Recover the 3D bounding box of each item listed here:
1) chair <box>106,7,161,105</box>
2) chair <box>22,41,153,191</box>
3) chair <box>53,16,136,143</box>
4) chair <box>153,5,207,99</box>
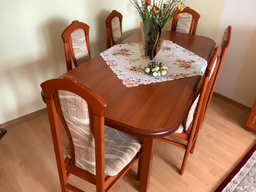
[{"bbox_3d":[0.060,-0.470,2.540,0.520,1.010,0.450,8,32,8],"label":"chair"},{"bbox_3d":[-0.190,0.260,1.330,0.440,1.030,0.490,17,34,22],"label":"chair"},{"bbox_3d":[-0.270,-0.150,1.990,0.520,1.020,0.450,12,33,14],"label":"chair"},{"bbox_3d":[0.630,-0.560,2.720,0.450,1.030,0.520,8,32,9],"label":"chair"}]
